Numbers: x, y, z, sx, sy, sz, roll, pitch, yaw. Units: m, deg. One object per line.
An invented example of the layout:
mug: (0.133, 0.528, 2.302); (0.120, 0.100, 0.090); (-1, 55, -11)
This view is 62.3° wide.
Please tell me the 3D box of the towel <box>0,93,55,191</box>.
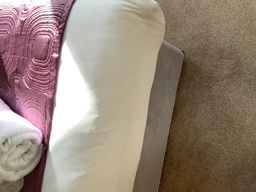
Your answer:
towel: (-0.440, 0.150, 0.660); (0.430, 0.130, 0.280); (18, 98, 32)
